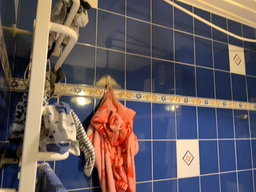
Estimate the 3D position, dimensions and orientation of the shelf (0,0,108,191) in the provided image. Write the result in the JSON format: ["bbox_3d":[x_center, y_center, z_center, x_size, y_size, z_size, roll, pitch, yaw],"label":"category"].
[{"bbox_3d":[-0.300,0.130,0.720,0.250,1.010,0.560,5,-10,-26],"label":"shelf"}]
